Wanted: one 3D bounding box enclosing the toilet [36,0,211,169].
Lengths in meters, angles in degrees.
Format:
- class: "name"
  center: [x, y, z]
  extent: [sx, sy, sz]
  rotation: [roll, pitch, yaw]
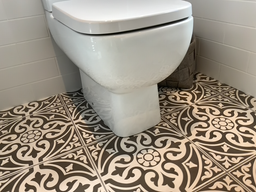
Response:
- class: "toilet"
  center: [-0.080, -0.290, 0.760]
  extent: [0.380, 0.780, 0.600]
  rotation: [-18, 33, -21]
